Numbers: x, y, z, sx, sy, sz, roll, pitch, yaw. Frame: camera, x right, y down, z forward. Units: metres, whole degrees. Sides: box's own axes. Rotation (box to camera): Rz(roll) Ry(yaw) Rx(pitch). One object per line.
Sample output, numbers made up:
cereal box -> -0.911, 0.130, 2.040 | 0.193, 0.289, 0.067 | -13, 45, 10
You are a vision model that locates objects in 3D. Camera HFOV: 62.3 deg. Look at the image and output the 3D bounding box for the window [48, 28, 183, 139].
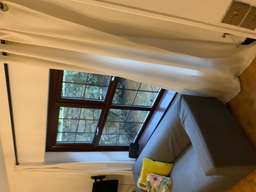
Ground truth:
window -> -0.310, 0.020, 3.040 | 0.250, 1.510, 1.760 | -103, 26, -42
